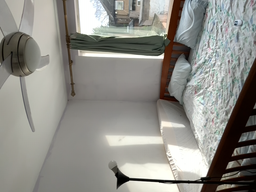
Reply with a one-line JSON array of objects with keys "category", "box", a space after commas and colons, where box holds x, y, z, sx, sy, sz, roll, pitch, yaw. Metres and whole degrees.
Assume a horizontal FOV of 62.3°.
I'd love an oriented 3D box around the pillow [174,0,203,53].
[{"category": "pillow", "box": [0.790, -0.970, 2.820, 0.430, 0.140, 0.670, -95, 7, -59]}]
